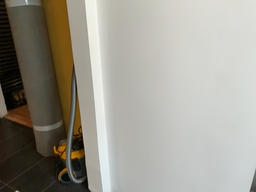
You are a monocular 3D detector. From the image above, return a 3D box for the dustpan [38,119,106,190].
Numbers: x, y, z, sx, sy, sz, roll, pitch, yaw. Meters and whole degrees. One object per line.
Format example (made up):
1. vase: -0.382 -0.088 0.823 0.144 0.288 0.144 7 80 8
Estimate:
1. dustpan: -0.470 0.480 1.840 0.380 0.340 0.370 15 28 33
